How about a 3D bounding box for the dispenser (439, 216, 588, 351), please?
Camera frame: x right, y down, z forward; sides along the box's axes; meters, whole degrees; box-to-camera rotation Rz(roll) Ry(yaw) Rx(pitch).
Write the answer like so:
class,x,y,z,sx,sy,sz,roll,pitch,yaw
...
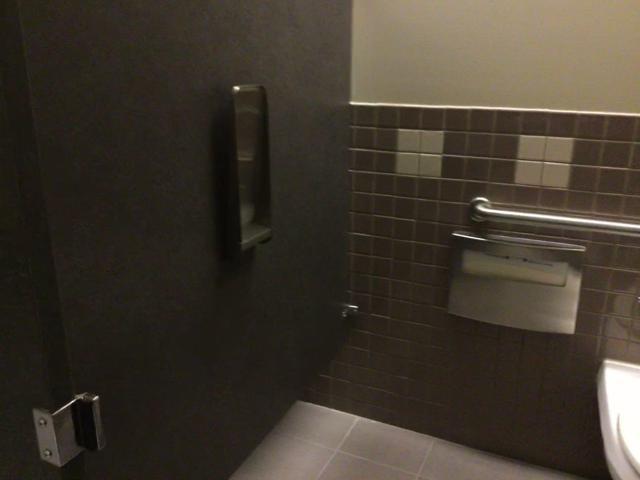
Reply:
class,x,y,z,sx,sy,sz,roll,pitch,yaw
dispenser,0.590,0.130,1.810,0.400,0.350,0.060,10,19,26
